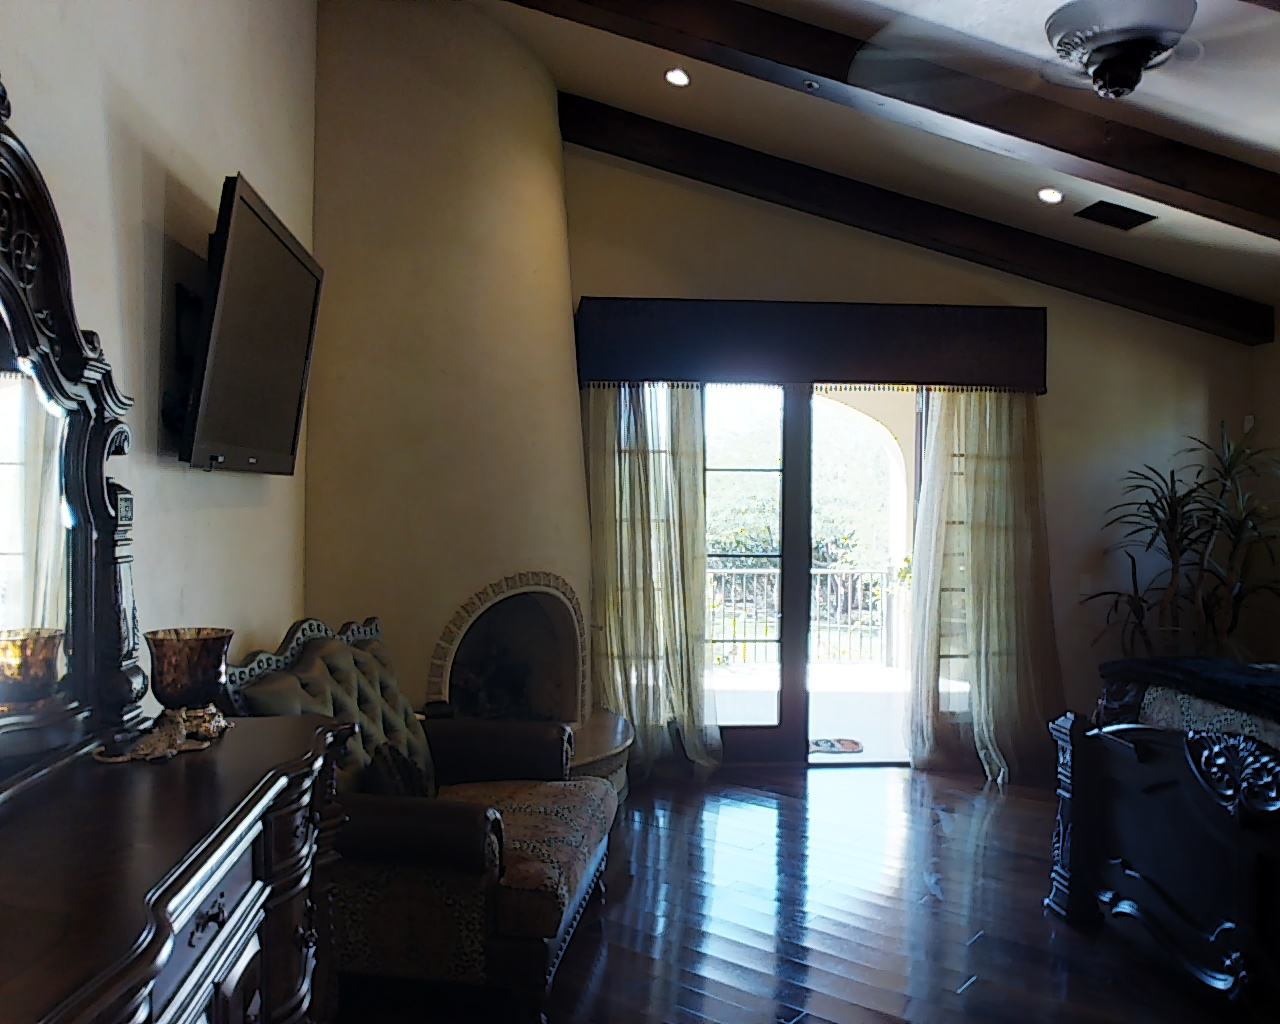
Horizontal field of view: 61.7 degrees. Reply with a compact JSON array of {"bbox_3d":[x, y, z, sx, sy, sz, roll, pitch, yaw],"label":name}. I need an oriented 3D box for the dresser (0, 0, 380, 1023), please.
[{"bbox_3d":[-0.850,0.380,1.670,0.580,2.340,1.750,1,1,-5],"label":"dresser"}]

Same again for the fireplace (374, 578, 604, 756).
[{"bbox_3d":[-0.740,0.730,5.370,0.650,0.720,0.940,2,1,40],"label":"fireplace"}]

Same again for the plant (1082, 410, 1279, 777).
[{"bbox_3d":[3.230,0.430,6.080,1.030,1.930,0.820,1,1,-5],"label":"plant"}]
